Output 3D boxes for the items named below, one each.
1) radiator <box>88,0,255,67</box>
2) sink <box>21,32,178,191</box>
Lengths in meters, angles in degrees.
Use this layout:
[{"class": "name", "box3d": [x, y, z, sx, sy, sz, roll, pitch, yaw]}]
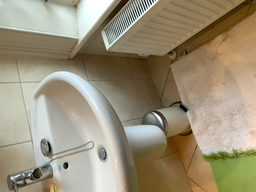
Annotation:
[{"class": "radiator", "box3d": [0.310, -0.370, 0.820, 0.920, 0.520, 0.110, -28, 74, 44]}, {"class": "sink", "box3d": [-0.130, 0.200, 0.690, 0.480, 0.180, 0.600, -29, 72, 43]}]
